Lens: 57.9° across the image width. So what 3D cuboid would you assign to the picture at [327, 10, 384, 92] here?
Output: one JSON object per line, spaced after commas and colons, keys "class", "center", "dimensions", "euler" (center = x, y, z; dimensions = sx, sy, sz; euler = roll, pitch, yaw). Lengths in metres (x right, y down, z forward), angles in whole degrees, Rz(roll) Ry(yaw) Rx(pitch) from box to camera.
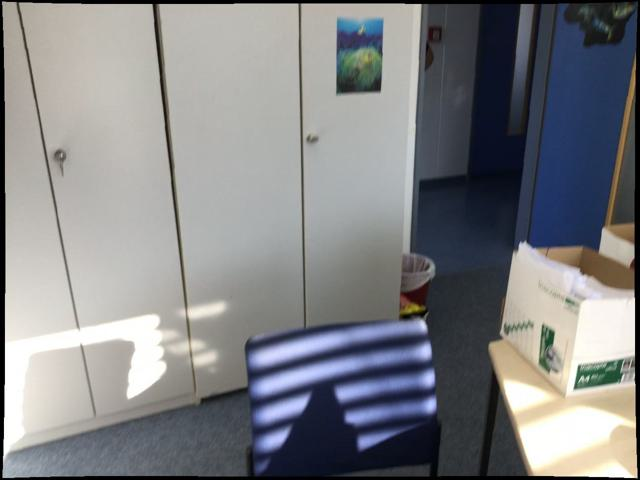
{"class": "picture", "center": [0.140, -0.721, 2.210], "dimensions": [0.220, 0.280, 0.040], "euler": [-12, 25, -21]}
